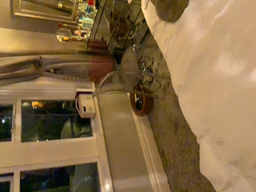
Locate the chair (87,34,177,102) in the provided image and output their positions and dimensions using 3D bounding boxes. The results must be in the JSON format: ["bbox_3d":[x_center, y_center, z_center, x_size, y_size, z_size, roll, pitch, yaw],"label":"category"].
[{"bbox_3d":[0.020,-0.260,2.280,0.460,0.770,0.510,-43,51,55],"label":"chair"}]
